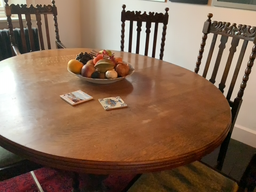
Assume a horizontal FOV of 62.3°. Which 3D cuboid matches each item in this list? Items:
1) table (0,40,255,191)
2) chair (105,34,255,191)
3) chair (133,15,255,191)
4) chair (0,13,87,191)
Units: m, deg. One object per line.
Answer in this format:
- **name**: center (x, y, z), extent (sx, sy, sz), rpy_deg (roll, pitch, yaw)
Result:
- **table**: center (-0.190, 0.230, 1.290), extent (1.140, 0.770, 1.370), rpy_deg (-17, 33, -37)
- **chair**: center (0.250, 0.350, 0.830), extent (0.530, 1.030, 0.420), rpy_deg (20, 30, 29)
- **chair**: center (0.410, 0.070, 1.380), extent (0.530, 1.070, 0.420), rpy_deg (-16, 33, -36)
- **chair**: center (-0.550, 0.170, 1.050), extent (0.530, 1.040, 0.420), rpy_deg (-17, 33, -36)
